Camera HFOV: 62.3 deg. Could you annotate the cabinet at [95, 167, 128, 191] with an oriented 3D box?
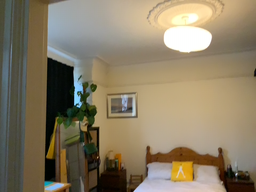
[{"bbox_3d":[-0.320,1.830,4.370,0.490,0.540,0.590,-3,-6,17],"label":"cabinet"}]
